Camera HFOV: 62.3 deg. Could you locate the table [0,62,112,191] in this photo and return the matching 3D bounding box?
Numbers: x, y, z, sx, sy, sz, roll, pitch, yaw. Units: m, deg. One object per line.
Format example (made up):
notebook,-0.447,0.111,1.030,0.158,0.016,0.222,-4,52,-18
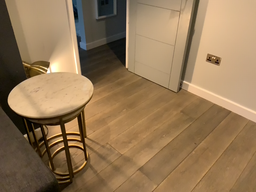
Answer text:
table,-0.490,0.200,1.510,0.540,0.610,0.500,29,43,34
